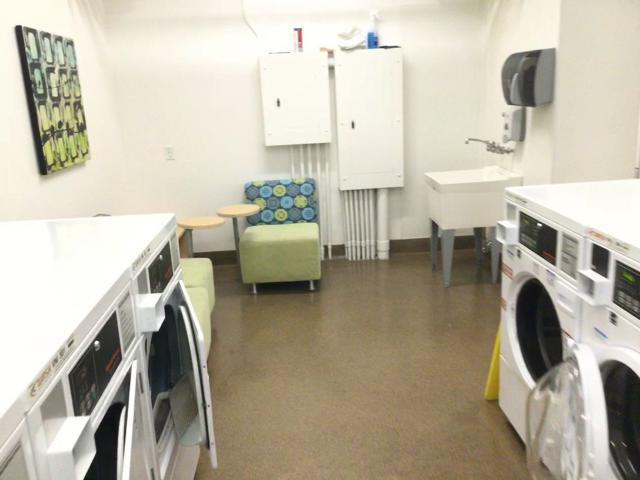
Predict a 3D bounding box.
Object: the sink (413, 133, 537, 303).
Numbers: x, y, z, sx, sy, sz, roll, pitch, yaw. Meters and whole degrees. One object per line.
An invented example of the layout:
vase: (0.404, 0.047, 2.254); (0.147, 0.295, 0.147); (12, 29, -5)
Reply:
sink: (1.060, -0.180, 4.150); (0.700, 1.070, 0.670); (-2, 15, 2)
